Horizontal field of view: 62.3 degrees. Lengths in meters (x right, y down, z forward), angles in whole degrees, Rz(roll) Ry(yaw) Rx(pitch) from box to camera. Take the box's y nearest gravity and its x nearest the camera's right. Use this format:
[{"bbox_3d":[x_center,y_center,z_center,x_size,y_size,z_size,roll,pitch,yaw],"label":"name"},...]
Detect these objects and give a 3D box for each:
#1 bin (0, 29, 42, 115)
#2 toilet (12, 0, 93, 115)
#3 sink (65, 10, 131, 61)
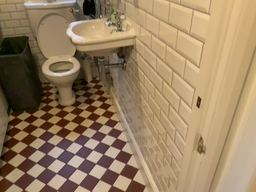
[{"bbox_3d":[-1.090,-0.270,2.140,0.250,0.620,0.650,-8,34,-13],"label":"bin"},{"bbox_3d":[-0.710,-0.440,2.150,0.510,0.950,0.720,-9,34,-15],"label":"toilet"},{"bbox_3d":[-0.220,-0.420,1.380,0.330,0.140,0.560,-9,34,-14],"label":"sink"}]
